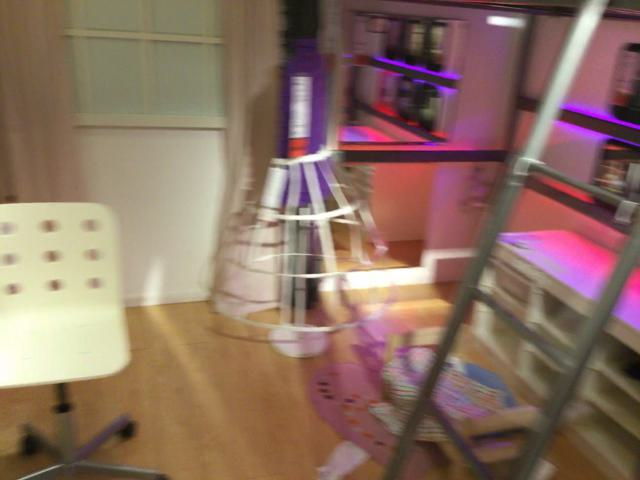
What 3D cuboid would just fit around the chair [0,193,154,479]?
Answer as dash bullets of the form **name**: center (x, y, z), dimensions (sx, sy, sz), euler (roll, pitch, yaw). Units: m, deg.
- **chair**: center (-0.770, 0.330, 1.630), dimensions (0.530, 0.830, 0.380), euler (-4, 20, -18)
